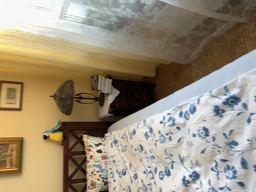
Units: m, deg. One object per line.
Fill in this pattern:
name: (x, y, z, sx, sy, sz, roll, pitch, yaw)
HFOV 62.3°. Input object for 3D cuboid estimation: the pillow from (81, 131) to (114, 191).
pillow: (-0.310, 0.670, 2.090, 0.300, 0.220, 0.600, -34, 57, 58)
